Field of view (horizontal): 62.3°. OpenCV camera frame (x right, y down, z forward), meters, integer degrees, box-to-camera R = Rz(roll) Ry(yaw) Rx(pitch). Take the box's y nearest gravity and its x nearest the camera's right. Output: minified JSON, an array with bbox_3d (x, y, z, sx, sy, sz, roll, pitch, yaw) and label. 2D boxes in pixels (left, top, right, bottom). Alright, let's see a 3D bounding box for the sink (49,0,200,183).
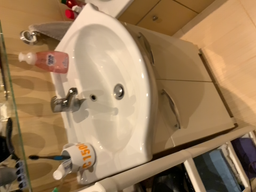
[{"bbox_3d":[-0.070,-0.030,0.760,0.420,0.150,0.550,-34,67,40],"label":"sink"}]
